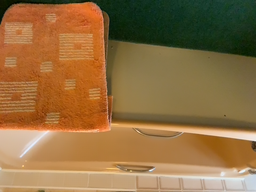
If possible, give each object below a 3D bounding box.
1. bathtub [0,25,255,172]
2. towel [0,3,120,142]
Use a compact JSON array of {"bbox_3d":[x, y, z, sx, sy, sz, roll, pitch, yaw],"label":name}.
[{"bbox_3d":[0.030,0.090,1.270,1.600,0.520,0.690,3,145,-7],"label":"bathtub"},{"bbox_3d":[-0.320,-0.120,0.900,0.490,0.540,0.150,-7,157,-8],"label":"towel"}]
